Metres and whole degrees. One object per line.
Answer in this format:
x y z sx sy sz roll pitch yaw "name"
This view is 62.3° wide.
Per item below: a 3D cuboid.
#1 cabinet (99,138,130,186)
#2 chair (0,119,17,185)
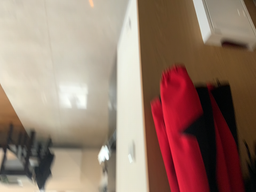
-0.290 1.360 4.360 0.540 0.860 0.460 5 151 -12 "cabinet"
-2.090 0.880 3.330 0.400 0.900 0.520 8 150 -18 "chair"
